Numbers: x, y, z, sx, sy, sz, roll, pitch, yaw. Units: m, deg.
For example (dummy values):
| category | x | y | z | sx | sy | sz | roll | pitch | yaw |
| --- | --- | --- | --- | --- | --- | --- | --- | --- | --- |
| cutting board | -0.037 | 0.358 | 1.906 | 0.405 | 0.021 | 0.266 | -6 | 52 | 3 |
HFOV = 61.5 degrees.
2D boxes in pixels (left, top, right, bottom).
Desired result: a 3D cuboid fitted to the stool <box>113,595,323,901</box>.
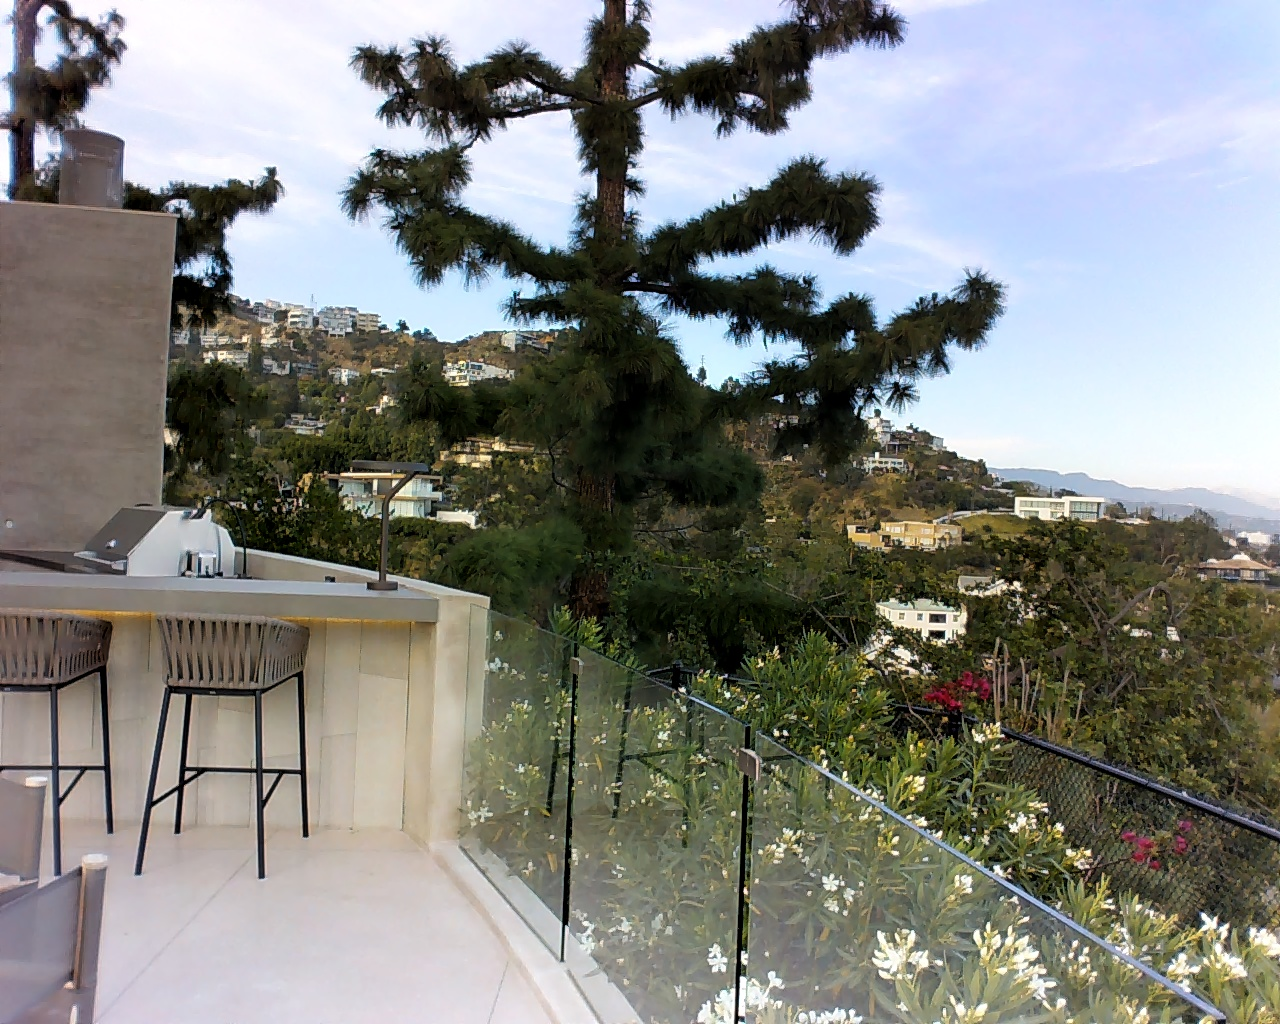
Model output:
| category | x | y | z | sx | sy | sz | roll | pitch | yaw |
| --- | --- | --- | --- | --- | --- | --- | --- | --- | --- |
| stool | -1.750 | 0.950 | 4.550 | 0.570 | 1.110 | 0.710 | 3 | 0 | -1 |
